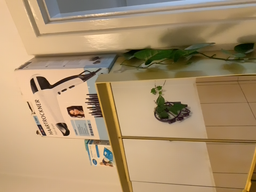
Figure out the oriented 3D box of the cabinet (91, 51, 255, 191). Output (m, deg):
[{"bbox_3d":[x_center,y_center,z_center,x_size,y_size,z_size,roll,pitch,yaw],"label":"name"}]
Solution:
[{"bbox_3d":[0.170,0.200,0.700,0.150,0.410,0.670,-72,-21,-51],"label":"cabinet"}]
